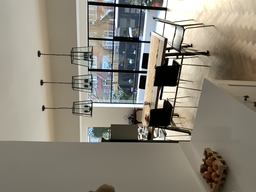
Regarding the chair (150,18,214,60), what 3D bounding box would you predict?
[{"bbox_3d":[0.860,-0.950,3.510,0.460,0.840,0.580,-108,21,-68],"label":"chair"}]
